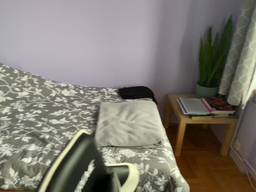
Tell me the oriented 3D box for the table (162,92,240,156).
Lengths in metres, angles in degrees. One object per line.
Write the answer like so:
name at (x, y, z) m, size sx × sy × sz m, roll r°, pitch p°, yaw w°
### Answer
table at (0.750, 0.290, 2.350) m, size 0.570 × 0.460 × 0.580 m, roll 1°, pitch 26°, yaw -5°
